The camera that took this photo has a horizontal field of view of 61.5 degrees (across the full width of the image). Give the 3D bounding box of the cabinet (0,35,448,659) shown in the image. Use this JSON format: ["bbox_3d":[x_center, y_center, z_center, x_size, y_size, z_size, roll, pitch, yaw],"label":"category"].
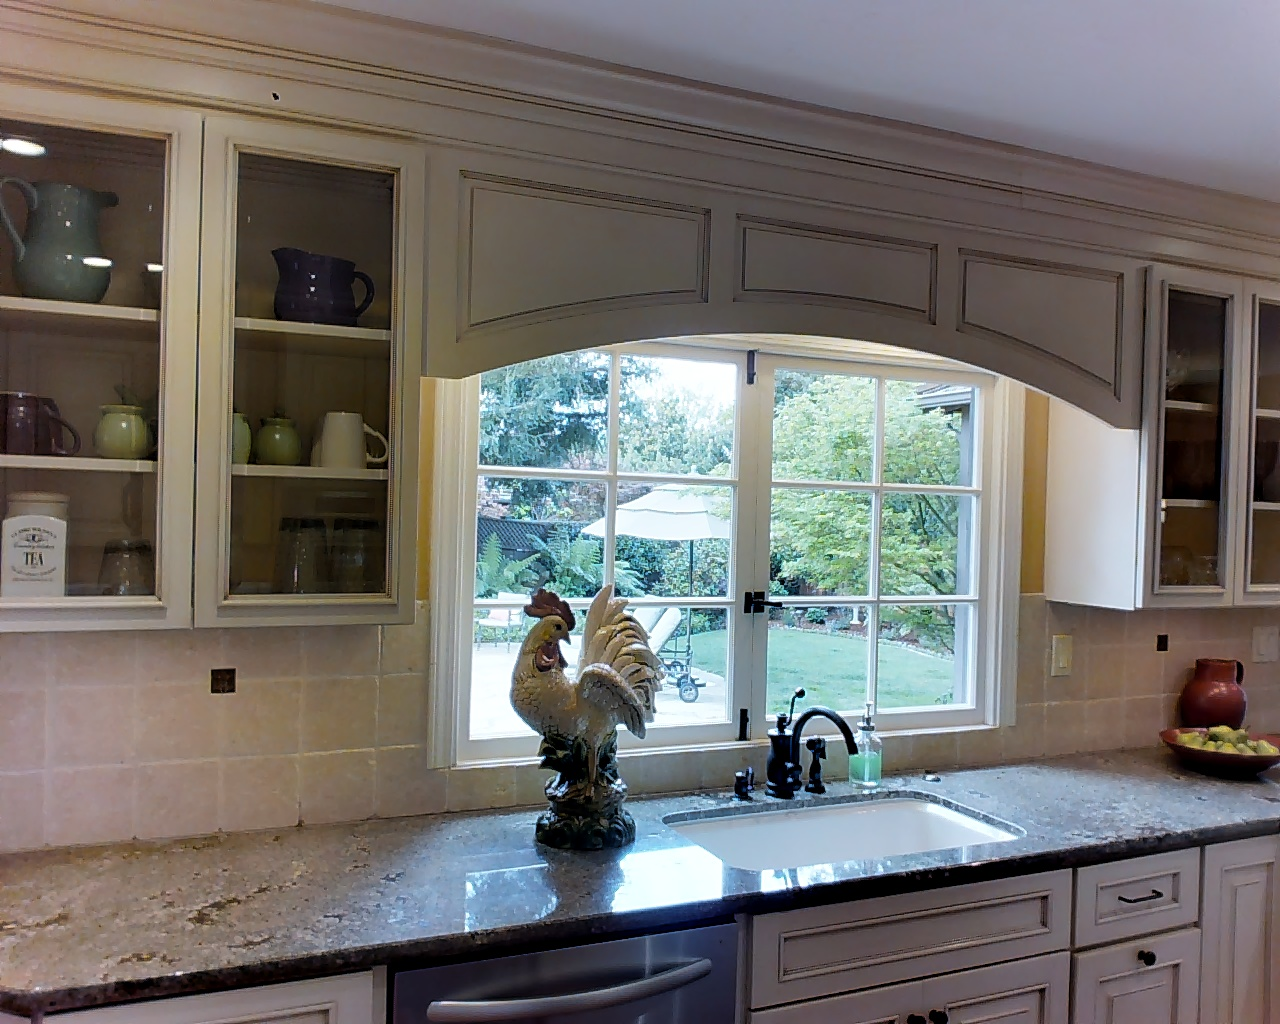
[{"bbox_3d":[-0.800,-0.250,1.940,0.810,0.960,0.360,1,0,-24],"label":"cabinet"}]

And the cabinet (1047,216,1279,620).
[{"bbox_3d":[1.700,-0.230,3.080,1.060,1.020,0.320,1,0,-24],"label":"cabinet"}]
